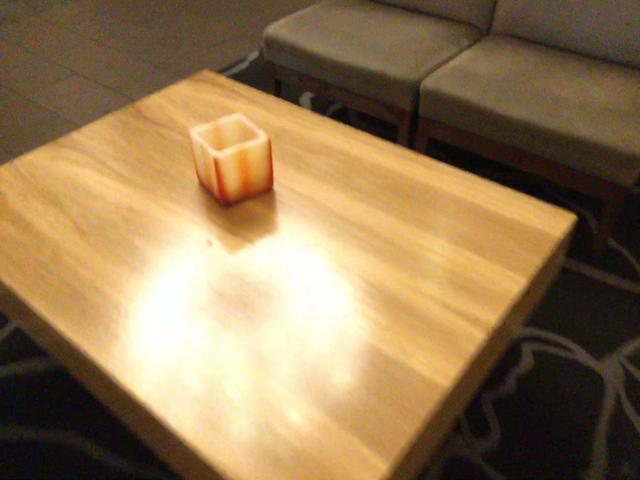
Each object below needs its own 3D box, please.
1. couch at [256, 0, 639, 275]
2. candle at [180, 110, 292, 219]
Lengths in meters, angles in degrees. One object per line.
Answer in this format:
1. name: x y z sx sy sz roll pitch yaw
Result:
1. couch: 0.560 -0.700 2.090 1.480 0.840 0.730 28 47 29
2. candle: -0.190 -0.180 1.340 0.180 0.140 0.170 28 47 29
